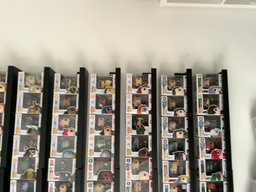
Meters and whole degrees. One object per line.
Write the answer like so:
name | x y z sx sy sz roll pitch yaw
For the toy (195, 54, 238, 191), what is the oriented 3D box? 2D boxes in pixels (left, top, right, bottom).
toy | 0.510 0.670 1.200 0.190 0.140 1.810 99 172 -82
